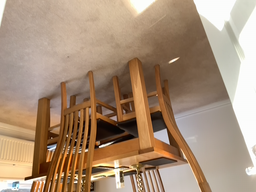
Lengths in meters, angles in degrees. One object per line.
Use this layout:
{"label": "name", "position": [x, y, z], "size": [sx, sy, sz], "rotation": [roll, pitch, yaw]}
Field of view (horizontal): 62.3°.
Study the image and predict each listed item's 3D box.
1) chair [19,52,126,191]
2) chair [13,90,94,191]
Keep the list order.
{"label": "chair", "position": [-0.410, 0.300, 1.660], "size": [0.490, 1.040, 0.540], "rotation": [-18, 152, 20]}
{"label": "chair", "position": [-0.720, 0.570, 2.120], "size": [0.530, 1.050, 0.470], "rotation": [-20, 152, 22]}
